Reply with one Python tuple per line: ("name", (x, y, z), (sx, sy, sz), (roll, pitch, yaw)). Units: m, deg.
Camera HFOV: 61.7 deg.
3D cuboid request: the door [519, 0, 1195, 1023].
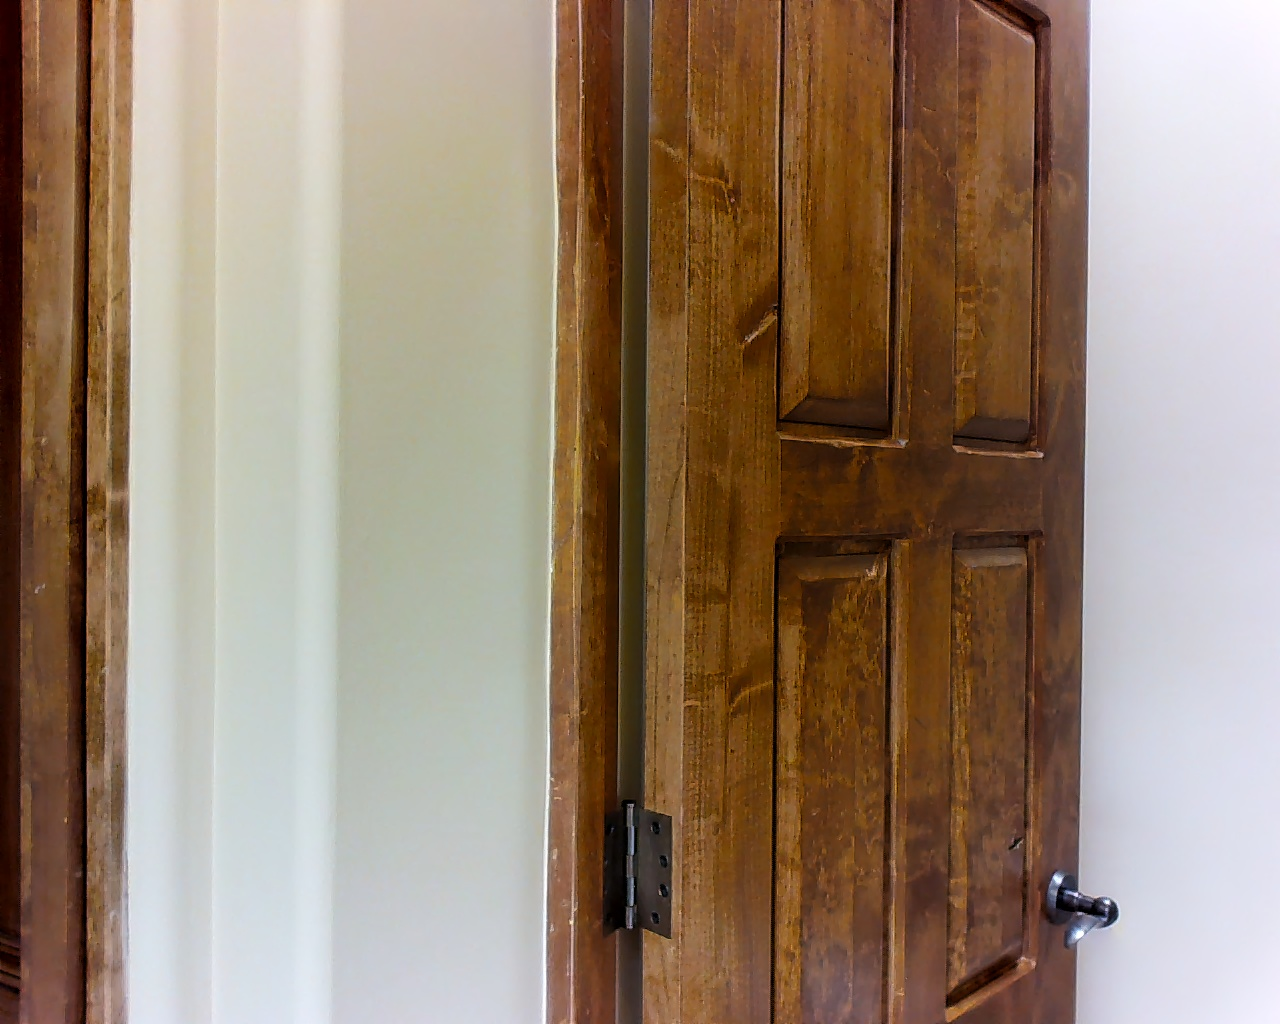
("door", (0.280, 0.300, 1.110), (0.840, 2.241, 0.150), (0, 1, -36))
